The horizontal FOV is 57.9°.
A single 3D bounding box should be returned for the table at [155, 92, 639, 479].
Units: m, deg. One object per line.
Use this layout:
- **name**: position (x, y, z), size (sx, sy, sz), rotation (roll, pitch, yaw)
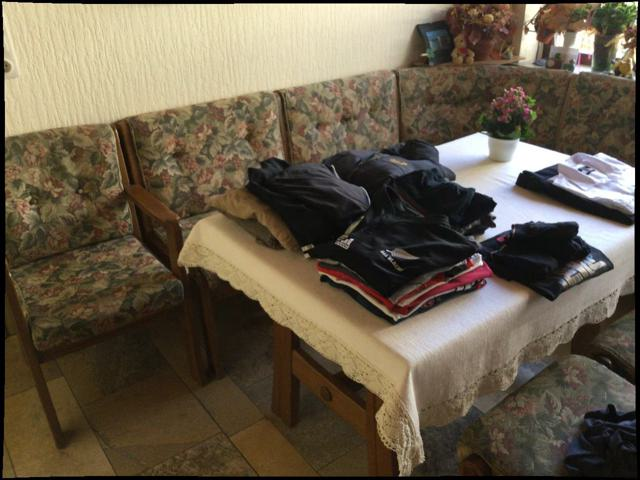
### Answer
- **table**: position (0.420, 0.160, 1.870), size (1.459, 0.831, 1.030), rotation (-20, 35, -30)
